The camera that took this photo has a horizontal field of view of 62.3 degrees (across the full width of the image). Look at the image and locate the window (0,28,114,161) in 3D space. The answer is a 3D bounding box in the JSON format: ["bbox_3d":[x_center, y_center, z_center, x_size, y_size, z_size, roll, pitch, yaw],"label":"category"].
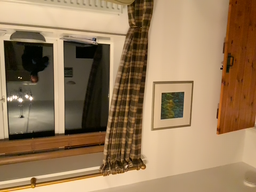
[{"bbox_3d":[-1.000,0.000,2.150,1.750,1.270,0.110,-2,-170,-22],"label":"window"}]

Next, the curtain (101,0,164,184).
[{"bbox_3d":[0.030,-0.170,2.040,0.510,2.000,0.190,-2,-170,-21],"label":"curtain"}]
